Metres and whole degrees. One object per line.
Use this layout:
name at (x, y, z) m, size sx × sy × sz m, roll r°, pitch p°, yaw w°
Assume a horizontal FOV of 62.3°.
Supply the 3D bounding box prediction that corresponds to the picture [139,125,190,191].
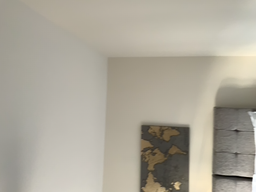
picture at (0.450, 0.850, 2.660) m, size 0.040 × 0.600 × 0.920 m, roll 15°, pitch -103°, yaw -78°
